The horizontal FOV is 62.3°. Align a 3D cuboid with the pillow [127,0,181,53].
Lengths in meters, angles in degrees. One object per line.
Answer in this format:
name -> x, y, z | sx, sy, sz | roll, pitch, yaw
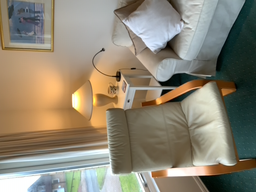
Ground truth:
pillow -> 0.250, -0.650, 1.850 | 0.130, 0.470, 0.430 | -28, 100, 33
